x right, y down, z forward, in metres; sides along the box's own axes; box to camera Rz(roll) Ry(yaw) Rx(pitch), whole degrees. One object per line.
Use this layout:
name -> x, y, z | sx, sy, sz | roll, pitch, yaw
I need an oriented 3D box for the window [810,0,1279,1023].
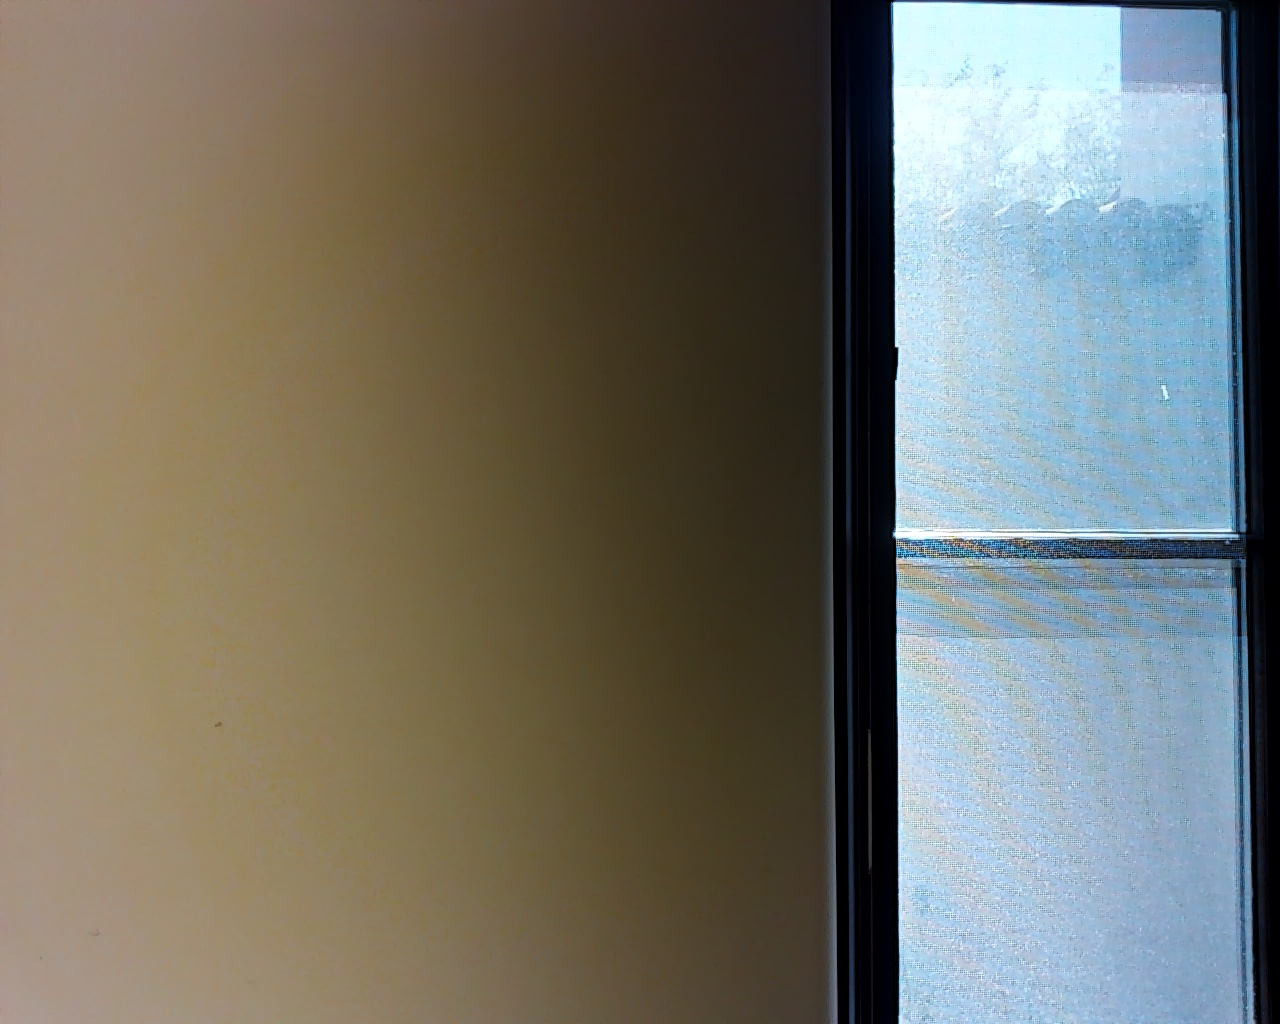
window -> 0.540, 0.230, 0.800 | 0.810, 1.430, 0.070 | 0, -2, -2
